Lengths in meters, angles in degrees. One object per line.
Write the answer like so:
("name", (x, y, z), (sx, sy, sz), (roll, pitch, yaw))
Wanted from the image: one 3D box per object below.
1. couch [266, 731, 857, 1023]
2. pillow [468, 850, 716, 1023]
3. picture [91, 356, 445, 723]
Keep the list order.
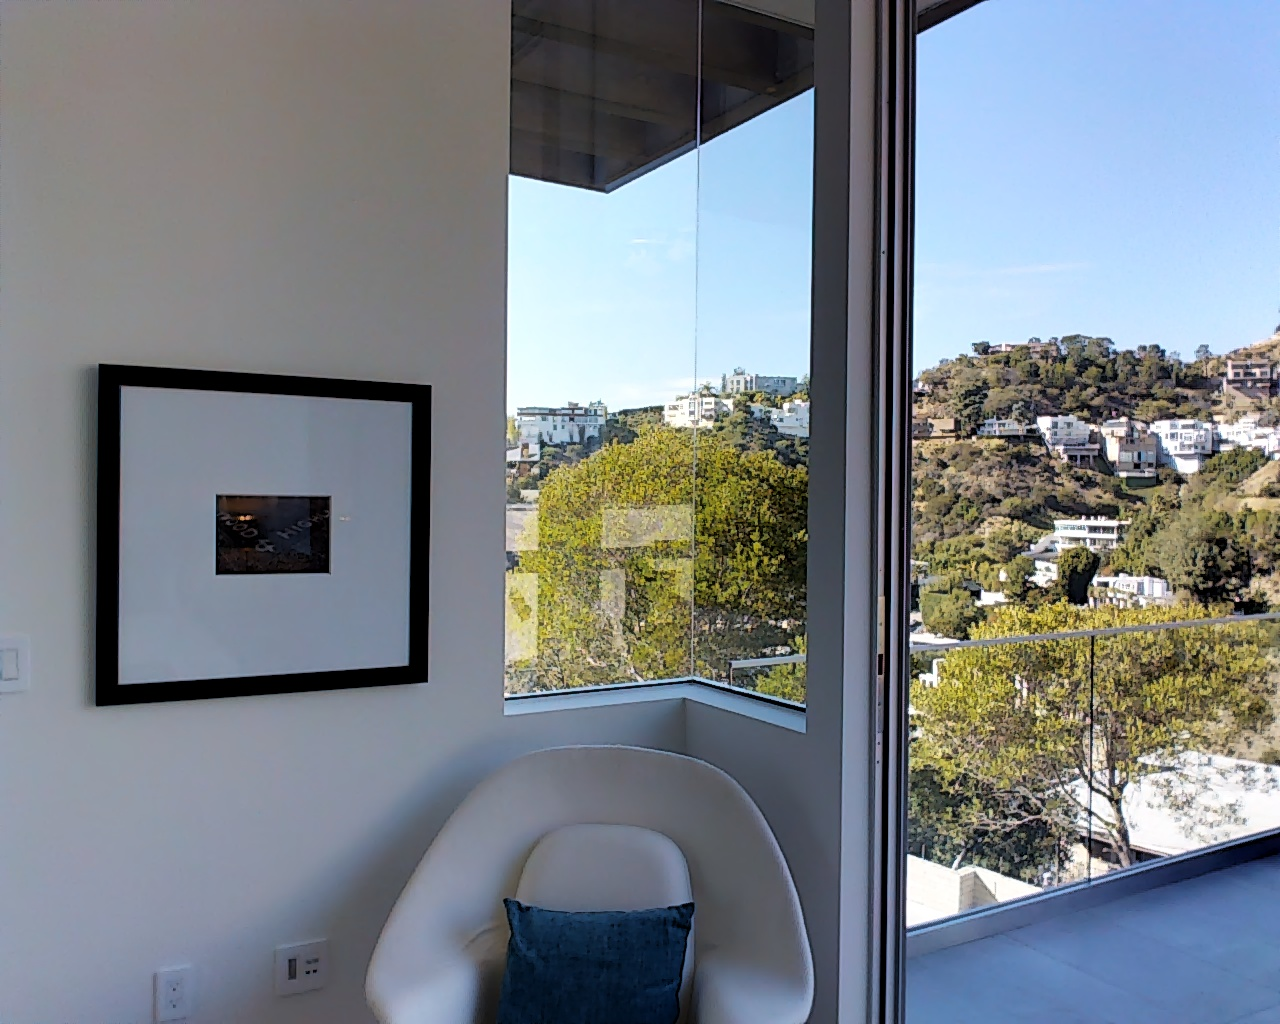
("couch", (-0.090, 1.070, 2.380), (1.070, 0.920, 0.950), (1, 1, 9))
("pillow", (-0.110, 1.010, 2.430), (0.470, 0.280, 0.160), (-24, -36, 0))
("picture", (-0.870, 0.060, 2.600), (0.810, 0.810, 0.050), (0, 1, -30))
